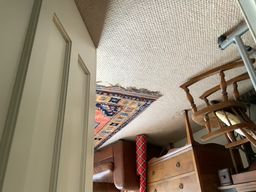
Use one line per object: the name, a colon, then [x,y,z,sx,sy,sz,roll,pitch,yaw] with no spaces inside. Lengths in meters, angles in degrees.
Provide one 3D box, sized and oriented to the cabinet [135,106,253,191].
cabinet: [0.610,0.730,2.400,0.610,0.770,1.090,9,149,-21]
